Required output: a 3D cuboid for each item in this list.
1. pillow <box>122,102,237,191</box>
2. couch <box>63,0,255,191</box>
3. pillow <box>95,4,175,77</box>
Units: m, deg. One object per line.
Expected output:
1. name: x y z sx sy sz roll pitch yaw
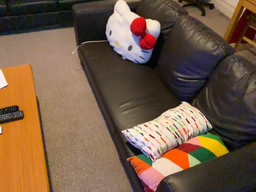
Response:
1. pillow: 0.270 0.290 1.130 0.470 0.120 0.380 -32 57 -31
2. couch: 0.160 -0.070 1.510 0.880 0.790 1.700 -12 49 -17
3. pillow: 0.020 -0.440 1.640 0.570 0.400 0.140 31 20 37
